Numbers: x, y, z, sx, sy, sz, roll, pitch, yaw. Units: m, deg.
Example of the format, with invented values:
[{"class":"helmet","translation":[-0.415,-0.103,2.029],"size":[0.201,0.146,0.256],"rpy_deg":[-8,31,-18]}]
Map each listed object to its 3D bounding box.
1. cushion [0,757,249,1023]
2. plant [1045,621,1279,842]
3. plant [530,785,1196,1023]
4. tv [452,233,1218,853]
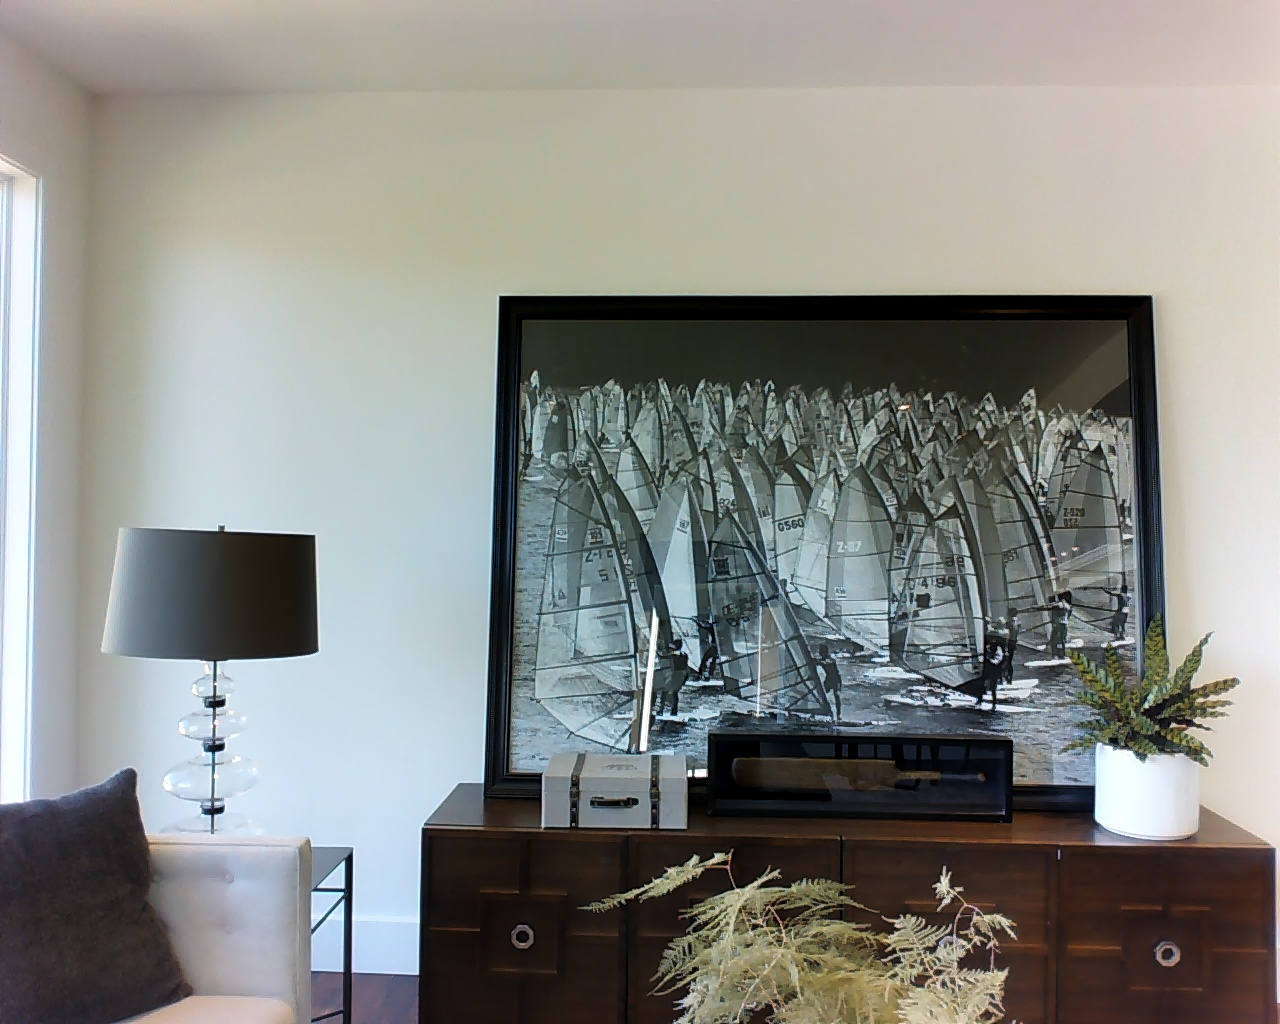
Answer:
[{"class":"cushion","translation":[-1.220,0.810,2.230],"size":[0.180,0.550,0.560],"rpy_deg":[34,1,31]},{"class":"plant","translation":[1.560,0.630,3.200],"size":[0.540,0.560,0.450],"rpy_deg":[1,-1,2]},{"class":"plant","translation":[0.240,0.800,1.520],"size":[0.660,0.590,0.900],"rpy_deg":[1,-1,3]},{"class":"tv","translation":[0.610,0.080,3.520],"size":[2.250,1.720,0.110],"rpy_deg":[7,0,3]}]
